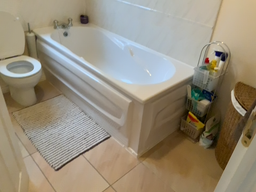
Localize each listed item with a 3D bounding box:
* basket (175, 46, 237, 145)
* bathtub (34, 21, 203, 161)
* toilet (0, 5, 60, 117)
[{"bbox_3d":[0.590,0.020,1.690,0.200,0.770,0.200,-24,43,-35],"label":"basket"},{"bbox_3d":[-0.230,-0.230,2.180,0.700,0.560,1.680,-24,44,-35],"label":"bathtub"},{"bbox_3d":[-1.040,-0.360,2.040,0.410,0.810,0.650,-24,43,-35],"label":"toilet"}]
